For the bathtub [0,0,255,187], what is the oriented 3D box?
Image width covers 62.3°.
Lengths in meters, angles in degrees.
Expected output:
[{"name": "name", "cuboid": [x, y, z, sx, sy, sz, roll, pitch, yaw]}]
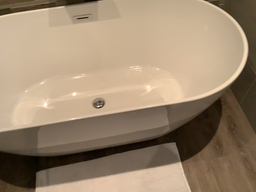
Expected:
[{"name": "bathtub", "cuboid": [-0.190, -0.070, 1.200, 1.500, 0.570, 0.790, -9, 54, -3]}]
